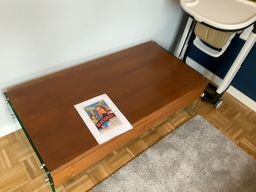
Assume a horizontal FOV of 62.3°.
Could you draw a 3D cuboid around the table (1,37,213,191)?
[{"bbox_3d":[-0.090,0.040,1.540,1.250,0.400,0.640,-25,54,-30],"label":"table"}]
